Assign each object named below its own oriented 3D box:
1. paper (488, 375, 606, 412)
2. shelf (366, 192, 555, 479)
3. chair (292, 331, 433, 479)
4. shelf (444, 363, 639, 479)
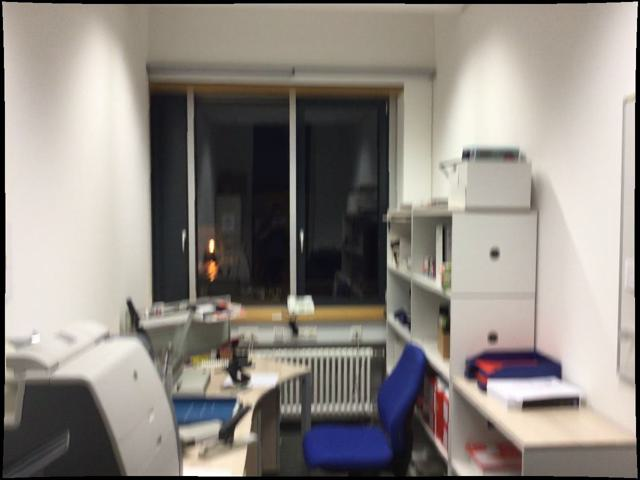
[{"bbox_3d":[0.899,0.611,2.320,0.370,0.060,0.240,0,4,-6],"label":"paper"},{"bbox_3d":[0.699,0.571,3.490,0.500,1.692,1.780,0,4,-6],"label":"shelf"},{"bbox_3d":[0.200,0.991,3.100,0.659,0.901,0.490,0,4,-7],"label":"chair"},{"bbox_3d":[0.849,1.071,2.290,0.460,0.941,0.830,0,4,-6],"label":"shelf"}]
